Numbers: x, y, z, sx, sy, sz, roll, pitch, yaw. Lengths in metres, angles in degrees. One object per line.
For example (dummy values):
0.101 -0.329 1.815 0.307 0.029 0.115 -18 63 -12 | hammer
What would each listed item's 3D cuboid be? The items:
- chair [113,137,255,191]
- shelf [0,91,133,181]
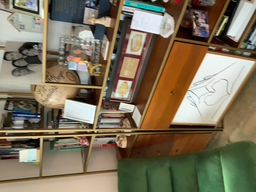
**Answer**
0.470 0.610 1.380 0.800 0.920 0.550 137 132 -62 | chair
-0.530 0.310 1.680 0.400 0.970 0.520 -112 32 -49 | shelf
